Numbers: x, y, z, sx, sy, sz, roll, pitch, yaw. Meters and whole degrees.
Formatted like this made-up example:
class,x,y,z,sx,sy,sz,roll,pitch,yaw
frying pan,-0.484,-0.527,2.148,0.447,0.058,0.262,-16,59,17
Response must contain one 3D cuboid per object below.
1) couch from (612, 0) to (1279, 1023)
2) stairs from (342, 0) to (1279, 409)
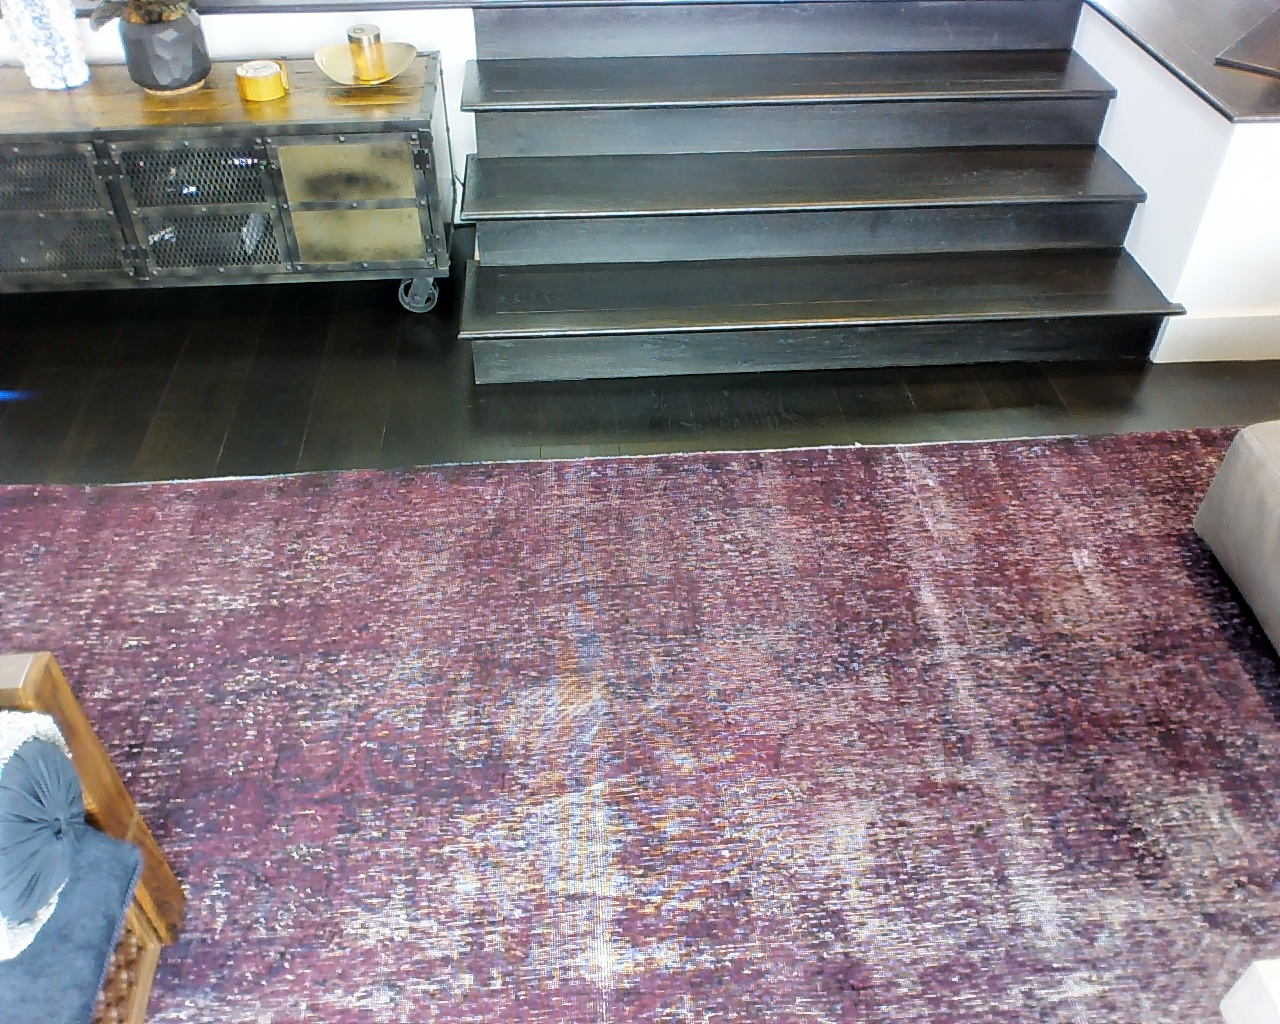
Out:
class,x,y,z,sx,sy,sz,roll,pitch,yaw
couch,1.090,-0.890,2.710,2.130,0.710,3.850,-3,42,-3
stairs,0.340,-0.870,2.760,1.930,0.700,0.950,-3,42,-3
